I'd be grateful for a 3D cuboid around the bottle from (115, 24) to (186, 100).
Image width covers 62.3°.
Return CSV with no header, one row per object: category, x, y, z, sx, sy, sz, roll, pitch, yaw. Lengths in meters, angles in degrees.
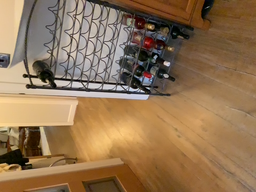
bottle,0.160,-0.240,1.600,0.210,0.360,0.480,41,121,51
